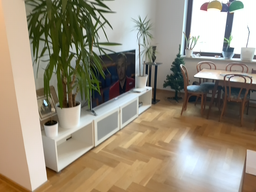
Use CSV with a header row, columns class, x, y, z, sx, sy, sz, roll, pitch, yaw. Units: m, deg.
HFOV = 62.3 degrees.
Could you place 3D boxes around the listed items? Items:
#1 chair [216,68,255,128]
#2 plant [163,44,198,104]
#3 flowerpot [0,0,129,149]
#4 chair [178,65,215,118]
class,x,y,z,sx,sy,sz,roll,pitch,yaw
chair,1.760,0.010,3.480,0.410,0.830,0.480,10,20,27
plant,1.120,-0.490,4.580,0.530,1.170,0.470,11,20,29
flowerpot,-0.600,-0.630,2.210,0.890,1.950,0.880,10,20,28
chair,1.230,-0.100,3.820,0.480,0.820,0.400,10,20,28
